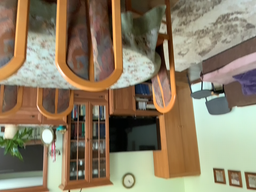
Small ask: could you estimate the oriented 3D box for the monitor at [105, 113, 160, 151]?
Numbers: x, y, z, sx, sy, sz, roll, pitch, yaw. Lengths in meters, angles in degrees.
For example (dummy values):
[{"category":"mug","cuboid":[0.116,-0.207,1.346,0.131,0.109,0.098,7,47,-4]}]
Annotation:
[{"category":"monitor","cuboid":[0.100,0.700,4.150,1.100,0.680,0.100,4,167,-23]}]
